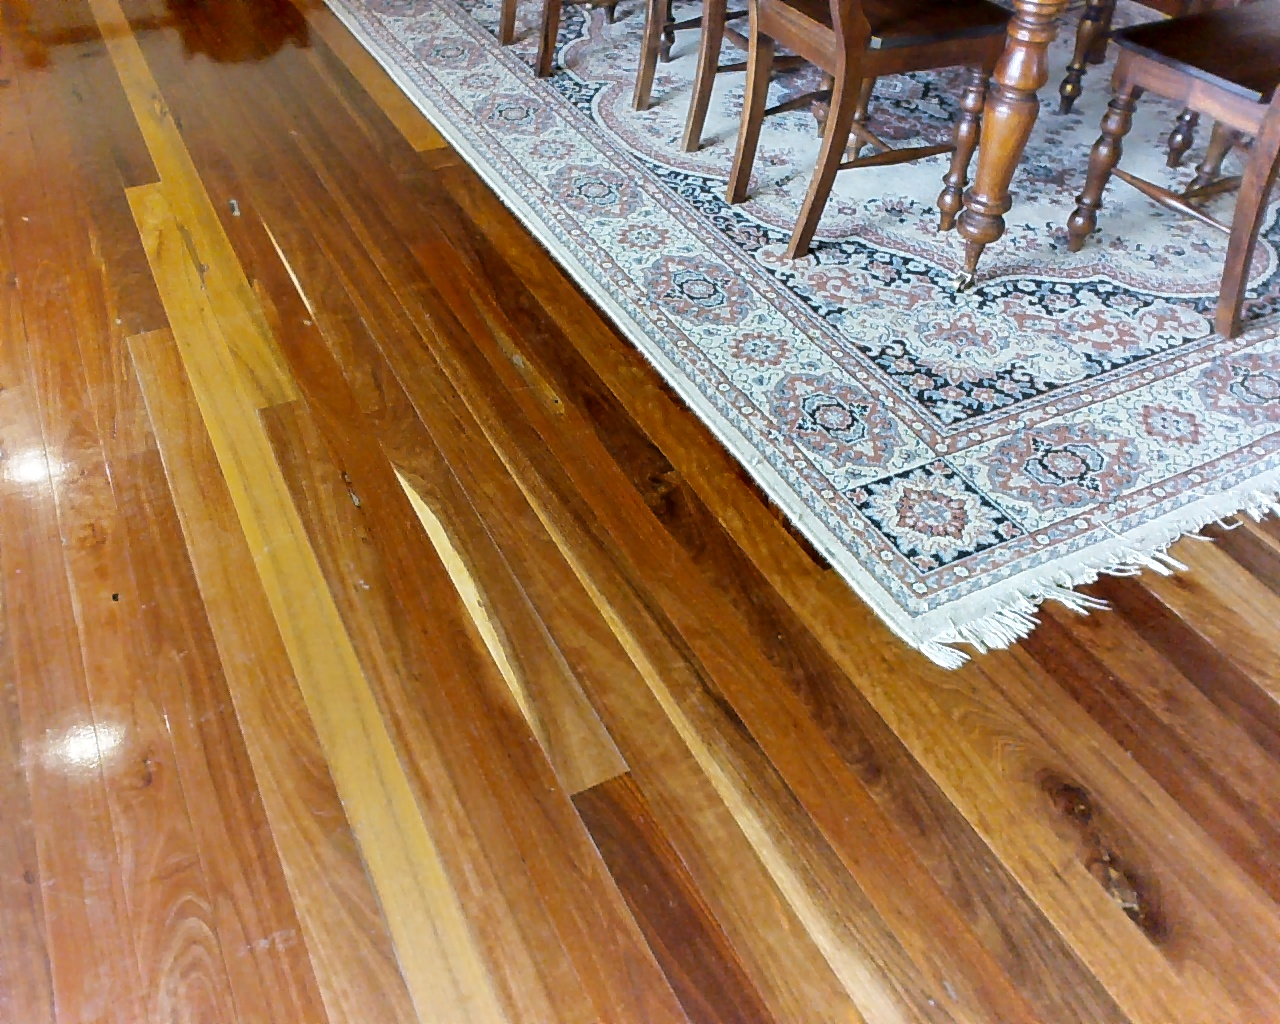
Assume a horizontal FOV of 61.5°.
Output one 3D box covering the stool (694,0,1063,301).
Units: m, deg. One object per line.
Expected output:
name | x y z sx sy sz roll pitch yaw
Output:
stool | 0.450 -0.950 2.100 0.470 0.850 0.490 -17 46 -19
